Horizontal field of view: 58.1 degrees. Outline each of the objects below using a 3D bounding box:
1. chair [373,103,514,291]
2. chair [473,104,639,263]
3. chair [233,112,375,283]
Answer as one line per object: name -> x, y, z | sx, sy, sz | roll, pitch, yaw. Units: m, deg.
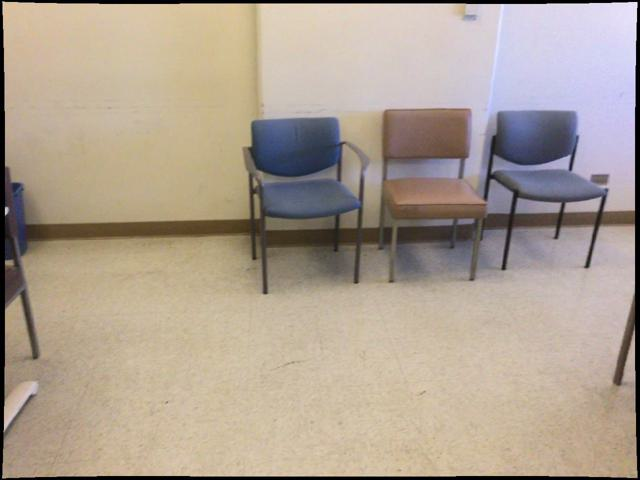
chair -> 0.588, -0.241, 3.000 | 0.559, 0.802, 0.600 | -1, 25, 0
chair -> 1.237, -0.331, 3.140 | 0.569, 0.671, 0.620 | -3, 25, -3
chair -> -0.100, -0.251, 2.990 | 0.608, 0.651, 0.650 | -6, 26, -9
